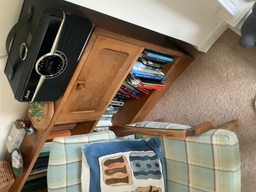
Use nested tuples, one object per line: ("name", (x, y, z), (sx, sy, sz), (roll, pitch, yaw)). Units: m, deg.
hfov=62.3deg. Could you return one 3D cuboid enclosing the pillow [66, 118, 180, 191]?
("pillow", (-0.010, 0.390, 1.020), (0.160, 0.400, 0.380), (30, 149, 62))
